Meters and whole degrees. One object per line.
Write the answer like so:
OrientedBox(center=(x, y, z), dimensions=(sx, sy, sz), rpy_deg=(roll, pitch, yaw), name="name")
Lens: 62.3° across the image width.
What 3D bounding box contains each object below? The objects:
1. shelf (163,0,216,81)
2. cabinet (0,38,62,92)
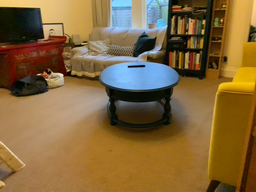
OrientedBox(center=(0.970, -1.230, 3.340), dimensions=(0.670, 1.890, 0.380), rpy_deg=(10, 24, 28), name="shelf")
OrientedBox(center=(-1.660, -0.560, 3.460), dimensions=(0.420, 0.650, 1.010), rpy_deg=(12, 24, 31), name="cabinet")
